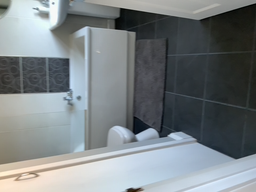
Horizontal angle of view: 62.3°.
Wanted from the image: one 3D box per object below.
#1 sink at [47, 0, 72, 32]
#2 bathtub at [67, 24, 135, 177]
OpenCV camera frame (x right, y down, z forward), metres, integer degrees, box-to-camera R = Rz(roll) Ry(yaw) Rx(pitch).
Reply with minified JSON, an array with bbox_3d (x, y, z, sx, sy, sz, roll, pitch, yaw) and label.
[{"bbox_3d":[-0.810,-1.110,2.460,0.490,0.190,0.630,18,108,60],"label":"sink"},{"bbox_3d":[-0.390,0.020,2.720,0.770,0.590,1.650,18,108,60],"label":"bathtub"}]
